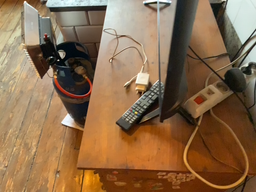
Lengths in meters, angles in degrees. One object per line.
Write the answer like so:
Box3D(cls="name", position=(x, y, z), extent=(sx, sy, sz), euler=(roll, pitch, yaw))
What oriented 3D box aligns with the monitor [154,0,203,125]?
Box3D(cls="monitor", position=(0.120, -0.320, 0.630), extent=(0.040, 0.450, 0.670), euler=(3, 53, 4))
